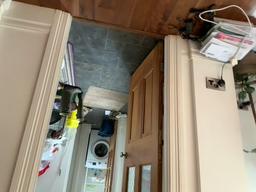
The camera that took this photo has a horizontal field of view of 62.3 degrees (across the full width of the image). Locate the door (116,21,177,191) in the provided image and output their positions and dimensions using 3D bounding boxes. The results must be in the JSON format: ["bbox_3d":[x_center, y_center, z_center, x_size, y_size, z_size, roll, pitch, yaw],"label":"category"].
[{"bbox_3d":[0.110,0.520,1.690,0.150,2.080,0.830,11,157,-15],"label":"door"}]
